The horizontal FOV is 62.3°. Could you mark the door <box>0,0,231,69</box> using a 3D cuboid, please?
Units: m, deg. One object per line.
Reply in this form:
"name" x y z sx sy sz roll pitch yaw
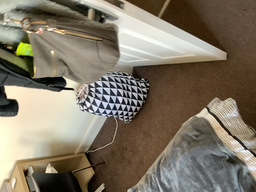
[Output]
"door" -0.440 -0.350 0.920 1.000 2.020 0.150 5 90 44
